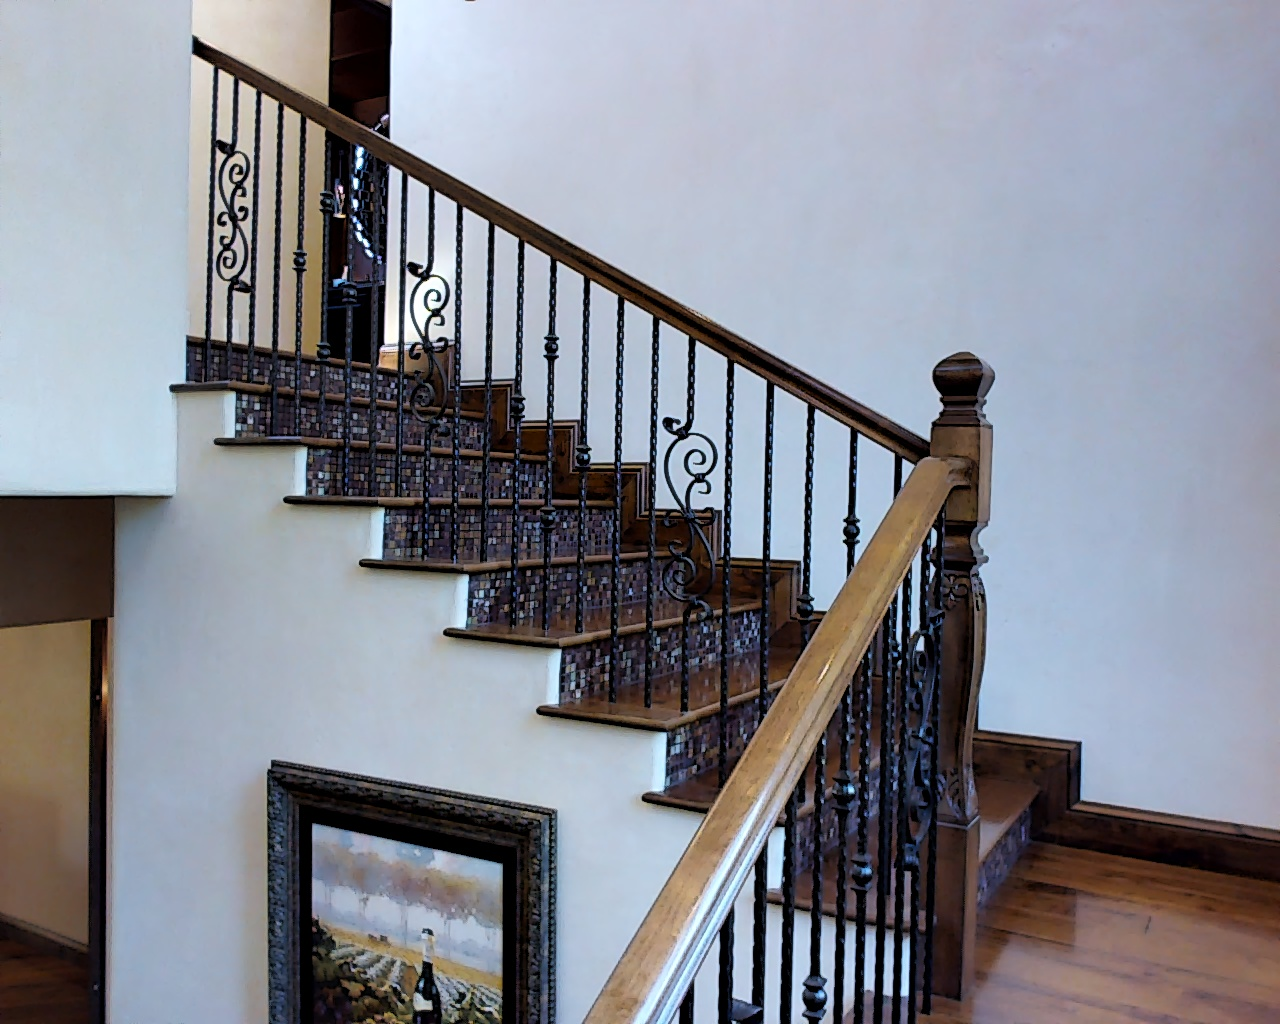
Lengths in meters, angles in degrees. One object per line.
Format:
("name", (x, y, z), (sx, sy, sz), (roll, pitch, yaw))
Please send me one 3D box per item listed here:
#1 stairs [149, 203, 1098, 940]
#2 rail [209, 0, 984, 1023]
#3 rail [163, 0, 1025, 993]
("stairs", (-0.180, 0.080, 3.290), (2.770, 1.480, 1.010), (2, 2, 31))
("rail", (0.210, 0.620, 1.450), (0.060, 1.940, 1.840), (2, 2, 30))
("rail", (-0.360, -0.290, 2.750), (2.520, 2.410, 0.080), (2, 2, 30))
